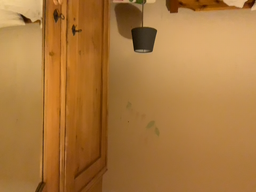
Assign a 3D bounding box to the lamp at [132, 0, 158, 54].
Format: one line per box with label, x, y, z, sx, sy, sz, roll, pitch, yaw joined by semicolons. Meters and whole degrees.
lamp;0.120;-0.550;1.540;0.170;0.460;0.090;2;180;0
